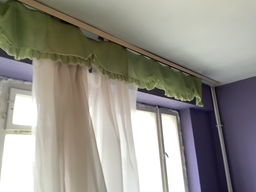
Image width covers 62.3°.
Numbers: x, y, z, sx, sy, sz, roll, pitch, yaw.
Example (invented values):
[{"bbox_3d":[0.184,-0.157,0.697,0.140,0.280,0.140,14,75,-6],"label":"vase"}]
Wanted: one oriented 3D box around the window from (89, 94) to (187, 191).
[{"bbox_3d":[0.180,0.700,2.330,0.250,1.190,1.320,-16,-21,39],"label":"window"}]
